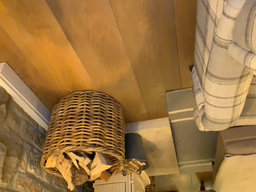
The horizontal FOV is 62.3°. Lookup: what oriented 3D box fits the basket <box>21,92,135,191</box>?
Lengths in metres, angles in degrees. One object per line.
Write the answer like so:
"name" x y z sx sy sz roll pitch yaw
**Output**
"basket" -0.300 0.390 1.610 0.560 0.480 0.610 -10 141 11
